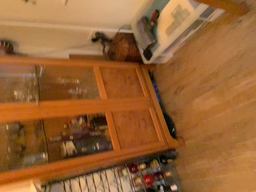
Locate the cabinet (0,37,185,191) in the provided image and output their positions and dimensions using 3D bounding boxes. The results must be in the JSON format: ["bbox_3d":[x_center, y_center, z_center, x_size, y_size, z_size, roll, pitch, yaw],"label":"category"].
[{"bbox_3d":[-0.580,0.100,1.400,0.380,1.970,0.850,-41,60,50],"label":"cabinet"}]
